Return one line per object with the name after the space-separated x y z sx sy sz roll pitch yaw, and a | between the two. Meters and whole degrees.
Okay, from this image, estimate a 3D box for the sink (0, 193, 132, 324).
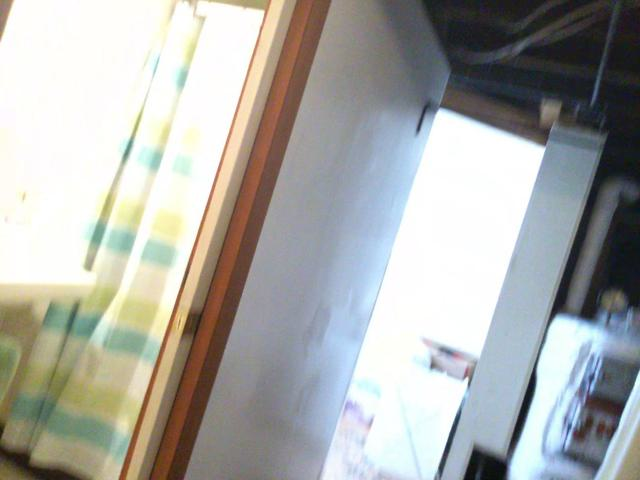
-1.060 0.040 1.930 0.460 0.330 0.630 18 1 22 | sink

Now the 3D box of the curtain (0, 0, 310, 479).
-0.680 0.000 2.170 0.650 1.970 0.360 18 1 22 | curtain

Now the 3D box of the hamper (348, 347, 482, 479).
0.540 1.000 3.190 0.480 0.640 0.480 18 1 22 | hamper
